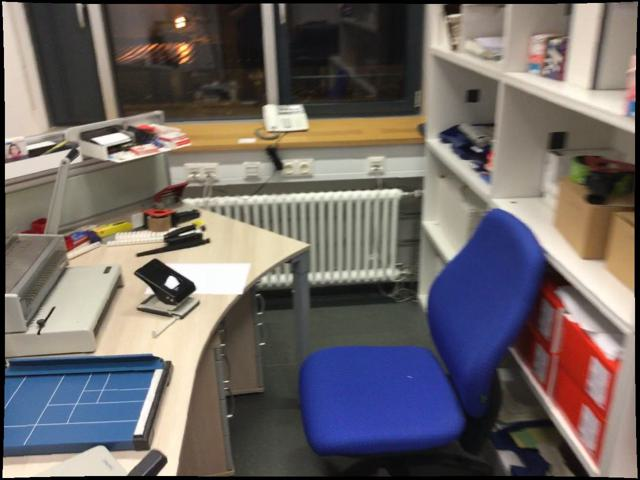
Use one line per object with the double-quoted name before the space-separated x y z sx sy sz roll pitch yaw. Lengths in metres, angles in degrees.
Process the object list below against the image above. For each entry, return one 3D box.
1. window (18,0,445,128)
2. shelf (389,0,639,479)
"window" -0.370 -1.411 2.610 1.958 1.731 0.130 -4 25 -8
"shelf" 0.699 -0.120 1.950 0.400 1.741 1.780 -4 26 -8
